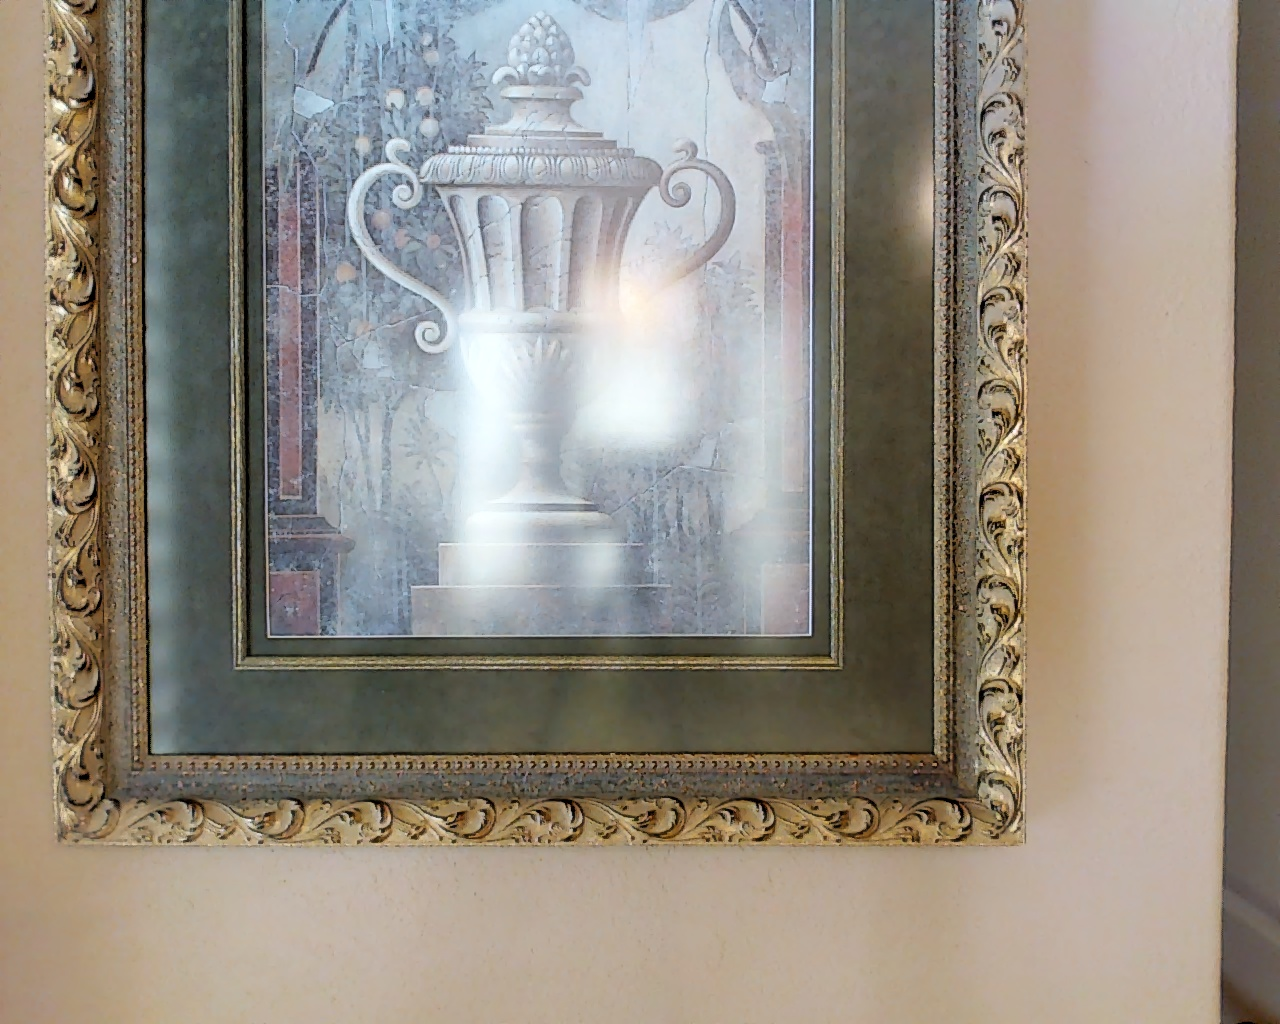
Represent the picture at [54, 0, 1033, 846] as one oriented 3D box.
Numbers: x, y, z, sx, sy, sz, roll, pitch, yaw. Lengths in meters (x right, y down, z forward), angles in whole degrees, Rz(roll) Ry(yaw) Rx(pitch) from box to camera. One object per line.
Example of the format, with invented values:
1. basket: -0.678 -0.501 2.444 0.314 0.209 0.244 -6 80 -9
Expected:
1. picture: -0.090 -0.250 1.060 0.920 1.130 0.090 0 0 -1
